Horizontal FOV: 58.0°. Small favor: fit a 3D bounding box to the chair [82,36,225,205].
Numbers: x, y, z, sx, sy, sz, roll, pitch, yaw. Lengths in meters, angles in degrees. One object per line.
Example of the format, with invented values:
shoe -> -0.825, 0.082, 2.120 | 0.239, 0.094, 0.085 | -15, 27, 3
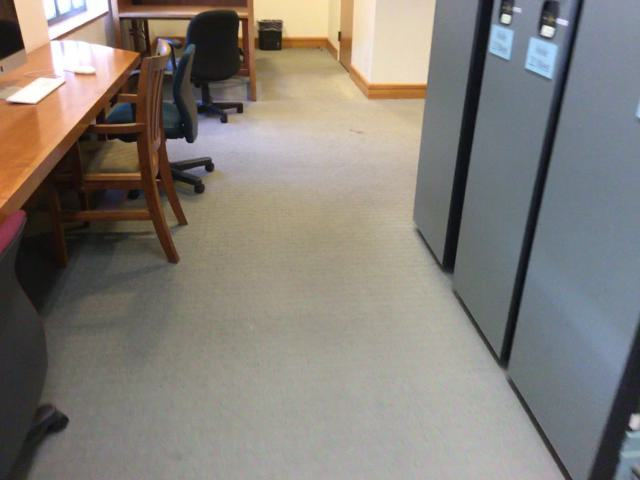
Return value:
chair -> -0.940, -0.700, 3.360 | 0.700, 0.840, 0.600 | -1, 23, -15
